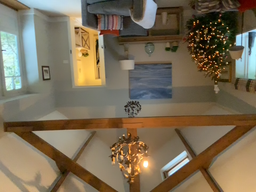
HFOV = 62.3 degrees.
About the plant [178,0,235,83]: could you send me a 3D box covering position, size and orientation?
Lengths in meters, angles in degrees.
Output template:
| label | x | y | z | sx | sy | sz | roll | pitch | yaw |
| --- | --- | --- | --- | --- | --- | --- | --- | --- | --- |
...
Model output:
| label | x | y | z | sx | sy | sz | roll | pitch | yaw |
| --- | --- | --- | --- | --- | --- | --- | --- | --- | --- |
| plant | 1.740 | -1.280 | 4.880 | 0.920 | 1.870 | 0.940 | -2 | -172 | -1 |
